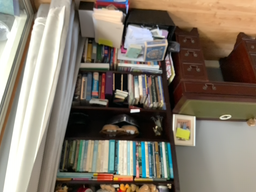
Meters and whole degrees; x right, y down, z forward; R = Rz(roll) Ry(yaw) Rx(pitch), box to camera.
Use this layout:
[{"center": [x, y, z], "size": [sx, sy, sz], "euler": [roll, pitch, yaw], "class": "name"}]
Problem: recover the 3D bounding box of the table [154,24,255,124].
[{"center": [0.760, -0.190, 2.120], "size": [0.820, 0.760, 0.560], "euler": [3, 152, -7], "class": "table"}]
